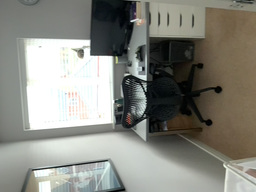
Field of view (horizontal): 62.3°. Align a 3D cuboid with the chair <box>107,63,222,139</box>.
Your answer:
[{"bbox_3d":[0.340,-0.020,2.390,0.760,1.010,0.680,-150,59,-71],"label":"chair"}]

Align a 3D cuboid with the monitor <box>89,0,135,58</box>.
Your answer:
[{"bbox_3d":[-0.220,-0.790,2.560,0.750,0.470,0.070,104,157,-45],"label":"monitor"}]

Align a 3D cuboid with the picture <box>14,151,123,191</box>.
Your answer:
[{"bbox_3d":[-0.500,0.660,1.800,0.680,0.770,0.030,-154,62,-72],"label":"picture"}]
